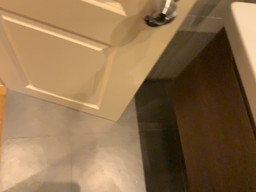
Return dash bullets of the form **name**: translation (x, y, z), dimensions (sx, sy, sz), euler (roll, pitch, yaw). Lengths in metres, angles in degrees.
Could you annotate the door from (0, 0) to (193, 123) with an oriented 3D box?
- **door**: translation (-0.210, -0.340, 0.320), dimensions (0.740, 1.950, 0.050), euler (20, 65, -5)
